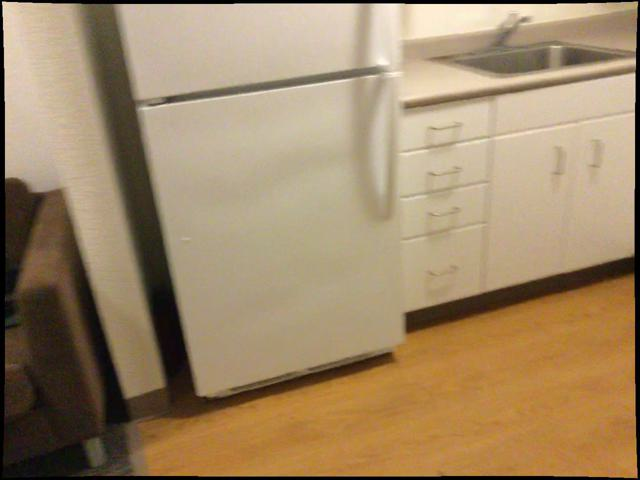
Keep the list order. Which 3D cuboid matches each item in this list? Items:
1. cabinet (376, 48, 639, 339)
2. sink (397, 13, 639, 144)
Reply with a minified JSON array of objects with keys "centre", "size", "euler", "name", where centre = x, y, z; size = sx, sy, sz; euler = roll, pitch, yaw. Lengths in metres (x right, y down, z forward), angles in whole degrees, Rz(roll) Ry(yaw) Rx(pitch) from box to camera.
[{"centre":[0.769,-0.170,2.090],"size":[1.109,0.871,0.110],"euler":[-13,27,-12],"name":"cabinet"},{"centre":[0.719,-0.641,2.190],"size":[0.669,0.300,0.560],"euler":[-13,27,-12],"name":"sink"}]
